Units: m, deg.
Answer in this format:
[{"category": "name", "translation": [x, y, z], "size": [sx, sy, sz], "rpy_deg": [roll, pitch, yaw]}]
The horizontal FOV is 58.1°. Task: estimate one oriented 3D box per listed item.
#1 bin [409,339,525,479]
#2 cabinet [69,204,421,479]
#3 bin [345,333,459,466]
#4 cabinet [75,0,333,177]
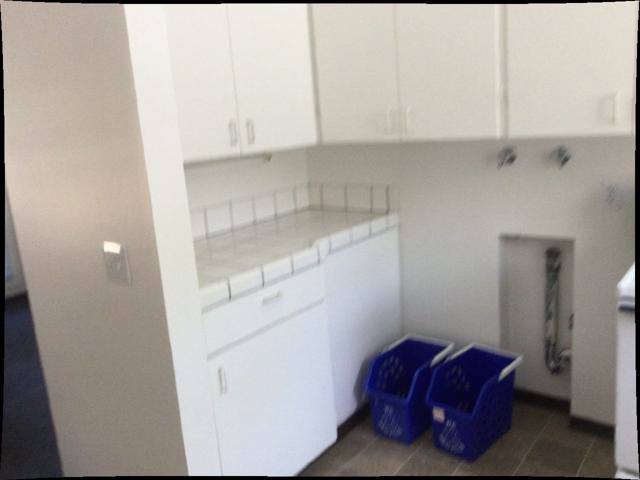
[{"category": "bin", "translation": [0.649, 0.711, 2.490], "size": [0.300, 0.371, 0.490], "rpy_deg": [3, 15, 37]}, {"category": "cabinet", "translation": [-0.190, 0.451, 2.480], "size": [0.609, 0.971, 1.359], "rpy_deg": [3, 15, 37]}, {"category": "bin", "translation": [0.389, 0.701, 2.640], "size": [0.290, 0.361, 0.490], "rpy_deg": [3, 15, 37]}, {"category": "cabinet", "translation": [-0.359, -0.851, 2.010], "size": [0.140, 1.112, 1.010], "rpy_deg": [3, 15, 37]}]
